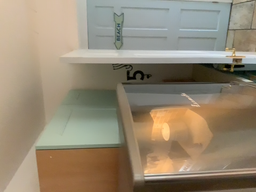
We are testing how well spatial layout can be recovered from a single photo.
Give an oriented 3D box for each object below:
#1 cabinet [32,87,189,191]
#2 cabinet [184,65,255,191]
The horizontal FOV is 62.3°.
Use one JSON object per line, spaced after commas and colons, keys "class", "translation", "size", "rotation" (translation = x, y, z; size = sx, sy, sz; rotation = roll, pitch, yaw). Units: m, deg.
{"class": "cabinet", "translation": [-0.130, 0.250, 1.570], "size": [1.050, 0.750, 0.380], "rotation": [-110, 21, -72]}
{"class": "cabinet", "translation": [1.090, 0.140, 1.670], "size": [1.050, 0.900, 0.610], "rotation": [-110, 21, -72]}
